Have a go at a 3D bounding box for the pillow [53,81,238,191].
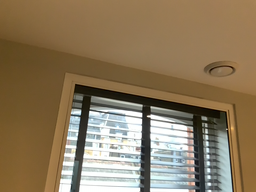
[{"bbox_3d":[0.150,0.800,1.130,1.130,1.640,0.090,10,-20,-19],"label":"pillow"}]
